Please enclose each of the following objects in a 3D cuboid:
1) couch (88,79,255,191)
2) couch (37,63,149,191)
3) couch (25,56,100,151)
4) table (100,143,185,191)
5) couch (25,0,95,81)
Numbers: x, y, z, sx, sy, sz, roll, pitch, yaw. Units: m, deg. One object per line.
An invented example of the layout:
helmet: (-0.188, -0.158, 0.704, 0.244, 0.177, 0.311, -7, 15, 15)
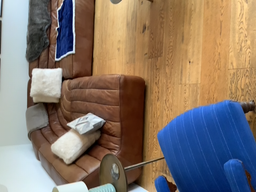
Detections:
couch: (0.360, 0.450, 1.130, 0.580, 0.850, 0.840, -39, 57, 47)
couch: (-0.500, 0.310, 2.480, 1.340, 0.750, 1.170, 3, 91, 55)
couch: (-1.110, 0.140, 3.370, 1.180, 0.740, 0.810, -60, 43, 34)
table: (0.120, 0.630, 1.730, 0.370, 0.580, 0.360, 3, 91, 55)
couch: (-1.160, -1.180, 3.500, 1.170, 0.750, 1.780, 3, 91, 55)
